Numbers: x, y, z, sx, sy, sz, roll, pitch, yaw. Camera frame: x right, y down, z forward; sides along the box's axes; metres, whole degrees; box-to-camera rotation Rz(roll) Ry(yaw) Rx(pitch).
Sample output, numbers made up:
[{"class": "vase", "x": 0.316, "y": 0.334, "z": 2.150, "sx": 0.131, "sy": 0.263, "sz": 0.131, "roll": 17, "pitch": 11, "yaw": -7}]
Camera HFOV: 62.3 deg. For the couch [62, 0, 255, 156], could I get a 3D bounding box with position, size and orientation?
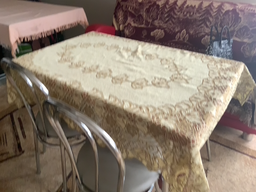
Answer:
[{"class": "couch", "x": 0.480, "y": -0.470, "z": 2.180, "sx": 1.880, "sy": 0.880, "sz": 1.160, "roll": 20, "pitch": 38, "yaw": 28}]
